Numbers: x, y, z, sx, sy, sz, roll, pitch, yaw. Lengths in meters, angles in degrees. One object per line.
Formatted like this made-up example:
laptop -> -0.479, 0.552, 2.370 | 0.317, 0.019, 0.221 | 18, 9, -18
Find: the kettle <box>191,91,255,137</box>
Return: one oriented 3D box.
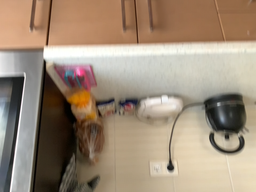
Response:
kettle -> 0.500, 0.100, 1.120 | 0.240, 0.190, 0.210 | 0, 159, -7
